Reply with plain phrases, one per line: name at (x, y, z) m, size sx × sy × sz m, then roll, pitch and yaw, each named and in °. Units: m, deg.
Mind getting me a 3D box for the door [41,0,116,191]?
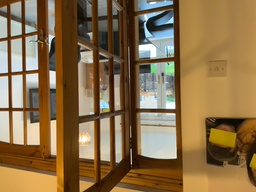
door at (-0.220, -0.480, 1.150) m, size 0.100 × 2.200 × 0.770 m, roll -1°, pitch -179°, yaw 8°
